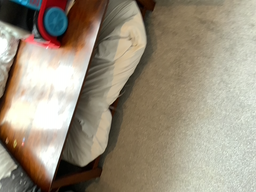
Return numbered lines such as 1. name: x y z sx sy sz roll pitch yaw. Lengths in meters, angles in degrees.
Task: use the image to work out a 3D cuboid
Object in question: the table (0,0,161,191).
1. table: -0.310 -0.140 1.260 0.530 0.470 1.160 21 95 30
